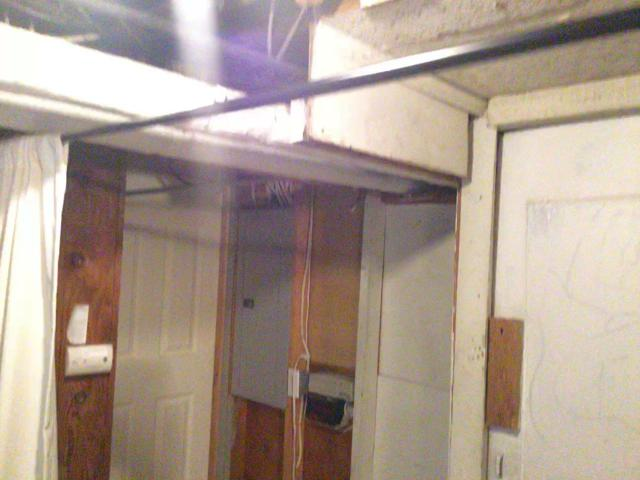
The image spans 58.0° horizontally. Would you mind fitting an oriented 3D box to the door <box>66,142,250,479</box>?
[{"bbox_3d":[-0.690,0.660,2.520,0.270,2.040,0.690,0,-3,40],"label":"door"}]
